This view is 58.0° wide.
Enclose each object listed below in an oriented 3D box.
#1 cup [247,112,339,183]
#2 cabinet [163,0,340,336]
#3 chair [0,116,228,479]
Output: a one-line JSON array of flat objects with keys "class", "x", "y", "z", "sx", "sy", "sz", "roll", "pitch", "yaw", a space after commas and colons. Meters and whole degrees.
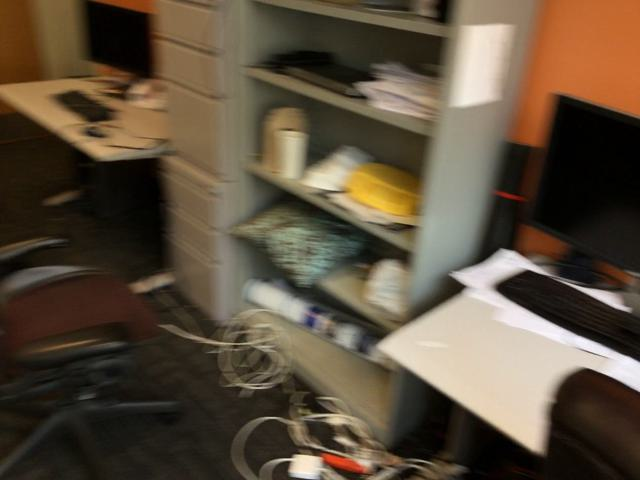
[{"class": "cup", "x": -0.100, "y": -0.340, "z": 2.090, "sx": 0.220, "sy": 0.160, "sz": 0.230, "roll": -20, "pitch": 38, "yaw": -41}, {"class": "cabinet", "x": -0.310, "y": -0.300, "z": 2.350, "sx": 0.510, "sy": 1.270, "sz": 0.360, "roll": -20, "pitch": 38, "yaw": -41}, {"class": "chair", "x": -0.730, "y": 0.240, "z": 1.610, "sx": 0.700, "sy": 0.970, "sz": 0.580, "roll": -14, "pitch": 35, "yaw": -35}]
